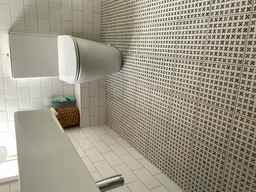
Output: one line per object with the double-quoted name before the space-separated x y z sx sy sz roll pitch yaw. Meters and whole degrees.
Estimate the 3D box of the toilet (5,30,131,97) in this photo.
"toilet" -0.500 -0.300 1.700 0.660 0.810 0.380 29 120 56
